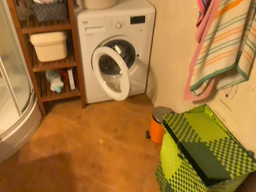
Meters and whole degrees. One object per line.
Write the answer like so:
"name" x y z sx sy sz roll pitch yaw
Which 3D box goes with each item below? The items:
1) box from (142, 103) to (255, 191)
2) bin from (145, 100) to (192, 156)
"box" 0.360 0.420 1.270 0.350 0.500 0.500 -11 44 -16
"bin" 0.290 0.240 1.610 0.220 0.300 0.250 -11 44 -16
